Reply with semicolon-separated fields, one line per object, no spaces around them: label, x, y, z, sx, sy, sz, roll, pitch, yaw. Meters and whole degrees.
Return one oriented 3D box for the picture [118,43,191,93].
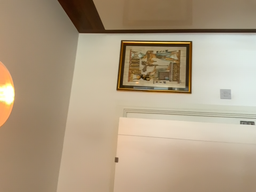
picture;0.240;-0.260;1.930;0.040;0.640;0.450;57;-144;-76

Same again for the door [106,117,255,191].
door;0.850;0.610;1.330;0.030;2.000;0.850;58;-145;-76
